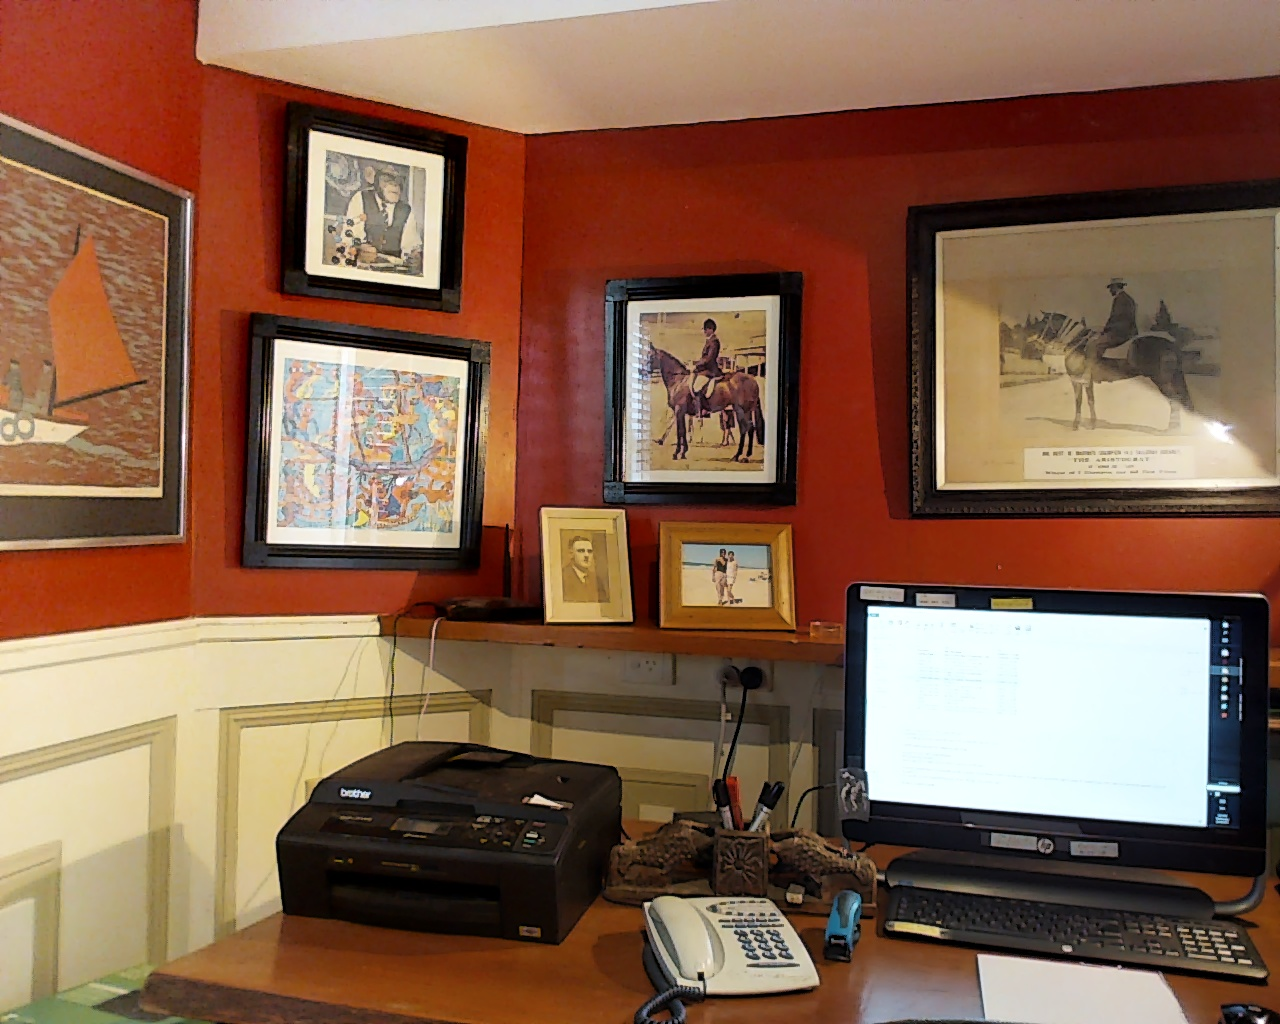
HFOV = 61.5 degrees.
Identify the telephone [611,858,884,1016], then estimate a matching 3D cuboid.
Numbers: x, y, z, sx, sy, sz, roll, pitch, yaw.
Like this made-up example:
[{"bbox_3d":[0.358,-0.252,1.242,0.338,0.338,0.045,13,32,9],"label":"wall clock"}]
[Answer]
[{"bbox_3d":[0.120,0.520,1.350,0.240,0.060,0.320,2,-1,-16],"label":"telephone"}]
